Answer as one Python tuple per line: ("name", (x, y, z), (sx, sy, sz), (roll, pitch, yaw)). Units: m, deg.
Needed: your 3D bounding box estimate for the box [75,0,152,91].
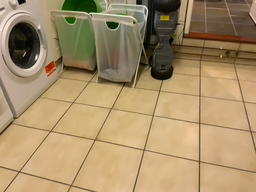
("box", (-0.080, -0.510, 1.950), (0.470, 0.630, 0.600), (9, 38, 13))
